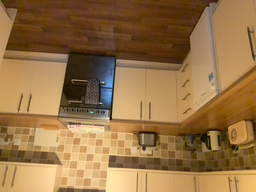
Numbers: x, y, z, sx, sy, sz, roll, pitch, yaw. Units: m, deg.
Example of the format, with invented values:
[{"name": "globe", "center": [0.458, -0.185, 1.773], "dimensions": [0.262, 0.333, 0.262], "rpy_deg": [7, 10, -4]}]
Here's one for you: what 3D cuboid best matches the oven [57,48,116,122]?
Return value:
[{"name": "oven", "center": [-0.510, -0.120, 2.920], "dimensions": [0.620, 0.770, 0.660], "rpy_deg": [4, 160, -2]}]
